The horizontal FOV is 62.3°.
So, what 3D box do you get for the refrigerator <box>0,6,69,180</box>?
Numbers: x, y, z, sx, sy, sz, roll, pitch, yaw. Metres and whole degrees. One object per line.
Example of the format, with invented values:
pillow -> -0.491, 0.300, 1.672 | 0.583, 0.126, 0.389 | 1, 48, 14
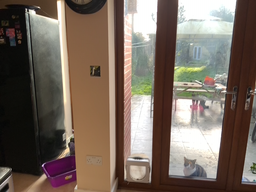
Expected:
refrigerator -> -1.320, -0.050, 2.490 | 0.880, 1.730, 0.770 | 2, 13, 7
